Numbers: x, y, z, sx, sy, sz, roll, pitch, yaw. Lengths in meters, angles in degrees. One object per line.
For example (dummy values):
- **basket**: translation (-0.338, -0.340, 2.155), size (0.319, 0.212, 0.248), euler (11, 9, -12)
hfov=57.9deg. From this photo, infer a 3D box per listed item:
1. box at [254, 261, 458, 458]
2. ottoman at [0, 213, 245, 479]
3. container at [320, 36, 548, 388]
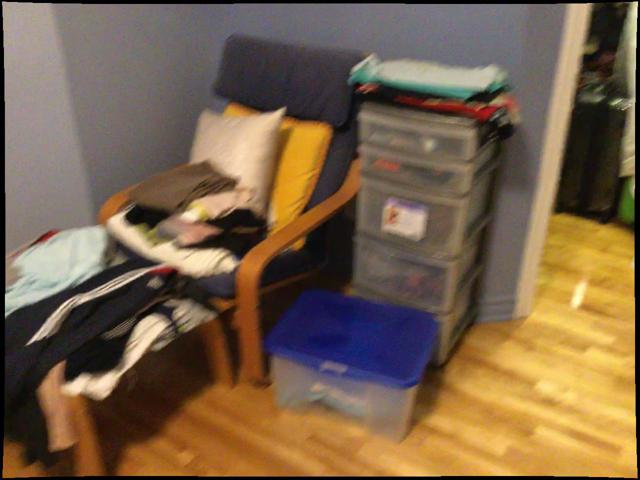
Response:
- **box**: translation (0.110, 0.330, 1.750), size (0.470, 0.290, 0.370), euler (17, 33, 30)
- **ottoman**: translation (-0.719, 0.310, 1.670), size (0.720, 0.410, 0.650), euler (17, 33, 30)
- **container**: translation (0.340, -0.110, 1.880), size (0.500, 0.961, 0.450), euler (17, 33, 30)
